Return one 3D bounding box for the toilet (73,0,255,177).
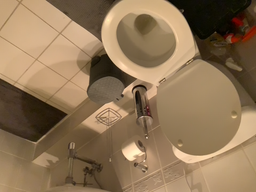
[{"bbox_3d":[0.170,-0.170,1.010,0.420,0.800,0.650,-37,127,24],"label":"toilet"}]
